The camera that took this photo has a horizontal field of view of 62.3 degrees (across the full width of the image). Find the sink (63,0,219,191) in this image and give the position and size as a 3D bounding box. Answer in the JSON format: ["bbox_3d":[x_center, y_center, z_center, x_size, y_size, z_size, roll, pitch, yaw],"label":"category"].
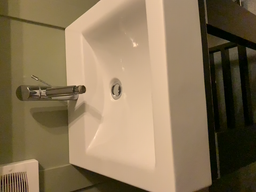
[{"bbox_3d":[-0.020,-0.030,0.630,0.490,0.140,0.540,-6,85,50],"label":"sink"}]
